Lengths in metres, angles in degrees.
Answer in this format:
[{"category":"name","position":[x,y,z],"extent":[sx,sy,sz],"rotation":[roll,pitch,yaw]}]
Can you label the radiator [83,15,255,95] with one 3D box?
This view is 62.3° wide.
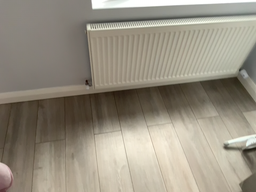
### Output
[{"category":"radiator","position":[0.340,-0.280,1.510],"extent":[1.240,0.550,0.060],"rotation":[-7,51,-11]}]
